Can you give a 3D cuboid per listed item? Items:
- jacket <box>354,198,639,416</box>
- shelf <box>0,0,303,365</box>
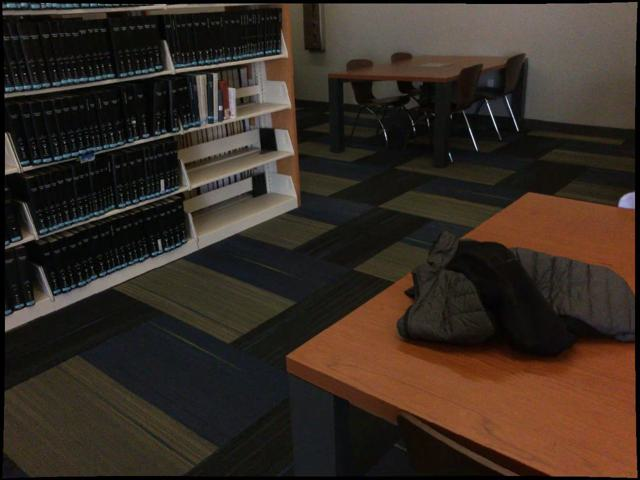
[{"bbox_3d":[0.419,0.090,1.250,0.489,0.150,0.500,13,29,35],"label":"jacket"},{"bbox_3d":[-1.666,-0.321,2.750,0.759,1.583,3.968,13,29,35],"label":"shelf"}]
